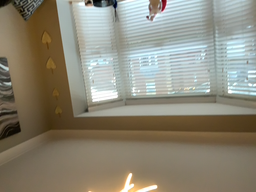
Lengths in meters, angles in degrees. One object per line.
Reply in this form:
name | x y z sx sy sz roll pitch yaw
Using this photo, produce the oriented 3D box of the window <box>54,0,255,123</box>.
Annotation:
window | 0.310 -0.540 2.460 2.170 1.570 0.580 -2 -170 22
